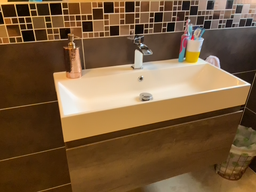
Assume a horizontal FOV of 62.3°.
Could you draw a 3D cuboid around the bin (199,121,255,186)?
[{"bbox_3d":[0.760,0.420,1.580,0.290,0.340,0.280,-4,29,-10],"label":"bin"}]
